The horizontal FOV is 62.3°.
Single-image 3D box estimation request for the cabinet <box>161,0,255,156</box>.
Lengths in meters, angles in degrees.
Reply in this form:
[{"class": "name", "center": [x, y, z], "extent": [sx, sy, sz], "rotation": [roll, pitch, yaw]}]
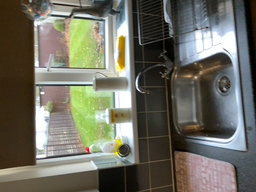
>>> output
[{"class": "cabinet", "center": [0.730, -0.070, 1.180], "extent": [0.590, 0.870, 0.590], "rotation": [165, 103, -69]}]
